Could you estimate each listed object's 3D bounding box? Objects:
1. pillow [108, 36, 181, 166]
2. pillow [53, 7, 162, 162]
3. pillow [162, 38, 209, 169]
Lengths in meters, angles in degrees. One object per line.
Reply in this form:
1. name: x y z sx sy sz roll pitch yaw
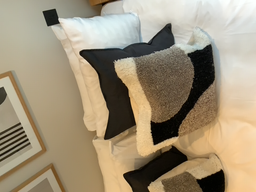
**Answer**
1. pillow: 0.110 0.020 1.050 0.120 0.300 0.550 13 124 43
2. pillow: -0.080 -0.080 1.240 0.360 0.360 0.750 17 126 41
3. pillow: 0.280 0.020 0.970 0.130 0.370 0.460 -4 118 20
